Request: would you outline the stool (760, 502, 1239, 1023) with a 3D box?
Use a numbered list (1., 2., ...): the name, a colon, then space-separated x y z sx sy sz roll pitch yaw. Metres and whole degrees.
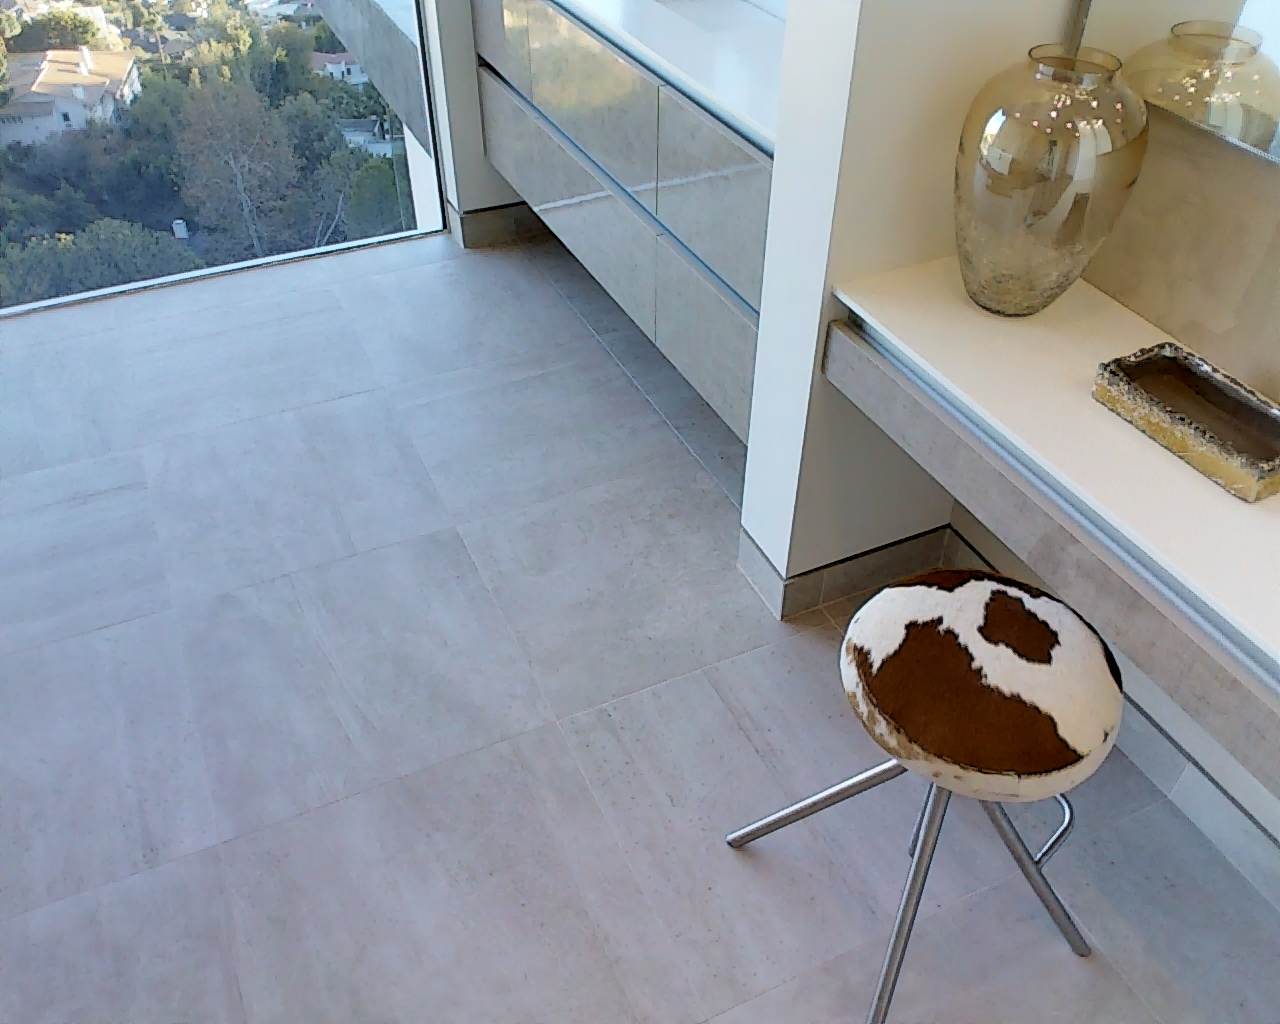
1. stool: 0.450 0.370 1.520 0.380 0.580 0.380 -17 44 -18
